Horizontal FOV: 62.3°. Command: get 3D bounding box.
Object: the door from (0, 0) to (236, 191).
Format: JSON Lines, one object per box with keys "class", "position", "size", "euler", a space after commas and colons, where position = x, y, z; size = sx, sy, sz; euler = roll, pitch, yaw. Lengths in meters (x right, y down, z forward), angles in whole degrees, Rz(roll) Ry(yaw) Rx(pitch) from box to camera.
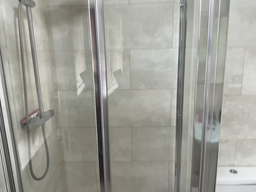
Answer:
{"class": "door", "position": [-0.110, 0.340, 0.930], "size": [0.980, 2.070, 0.050], "euler": [0, 14, 2]}
